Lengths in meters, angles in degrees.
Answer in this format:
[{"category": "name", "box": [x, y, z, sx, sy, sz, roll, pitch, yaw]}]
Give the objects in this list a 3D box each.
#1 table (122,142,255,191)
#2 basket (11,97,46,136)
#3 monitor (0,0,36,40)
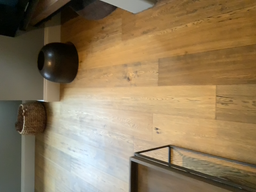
[{"category": "table", "box": [0.400, 0.770, 1.210, 0.860, 0.410, 0.800, 2, 91, 48]}, {"category": "basket", "box": [-1.650, 0.310, 3.500, 0.530, 0.370, 0.560, 4, 92, 48]}, {"category": "monitor", "box": [-1.330, -1.000, 2.160, 1.120, 0.670, 0.060, -36, 64, 41]}]
